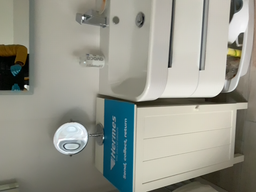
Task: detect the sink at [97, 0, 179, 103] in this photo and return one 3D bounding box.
[{"bbox_3d":[0.020,-0.380,1.040,0.500,0.130,0.770,11,100,59],"label":"sink"}]
